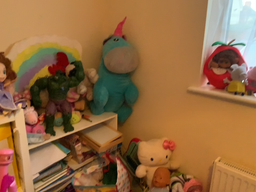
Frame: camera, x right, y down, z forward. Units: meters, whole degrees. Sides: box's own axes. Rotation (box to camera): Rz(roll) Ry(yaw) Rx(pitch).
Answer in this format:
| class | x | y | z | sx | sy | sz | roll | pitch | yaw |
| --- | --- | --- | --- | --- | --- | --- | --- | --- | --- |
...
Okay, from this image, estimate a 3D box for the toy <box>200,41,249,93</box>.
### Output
| class | x | y | z | sx | sy | sz | roll | pitch | yaw |
| --- | --- | --- | --- | --- | --- | --- | --- | --- | --- |
| toy | 0.540 | -0.170 | 1.200 | 0.190 | 0.260 | 0.120 | 15 | 22 | 39 |
